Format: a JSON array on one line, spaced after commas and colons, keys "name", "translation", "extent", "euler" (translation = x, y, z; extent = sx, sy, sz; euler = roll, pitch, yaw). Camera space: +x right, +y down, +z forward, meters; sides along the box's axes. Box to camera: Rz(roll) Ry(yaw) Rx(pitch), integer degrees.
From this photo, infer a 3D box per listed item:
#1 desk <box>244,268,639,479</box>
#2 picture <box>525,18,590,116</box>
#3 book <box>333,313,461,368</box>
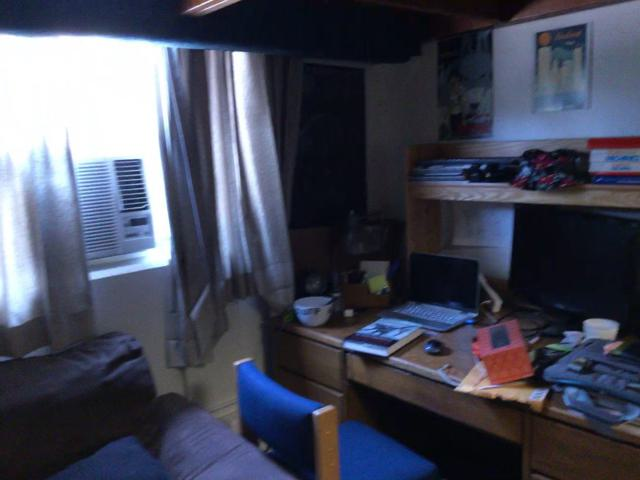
[{"name": "desk", "translation": [0.610, 0.660, 2.090], "extent": [0.940, 0.880, 1.630], "euler": [-10, 8, -39]}, {"name": "picture", "translation": [0.860, -0.620, 2.100], "extent": [0.020, 0.300, 0.220], "euler": [-10, 8, -39]}, {"name": "book", "translation": [0.270, 0.340, 2.010], "extent": [0.370, 0.060, 0.260], "euler": [-10, 8, -40]}]
